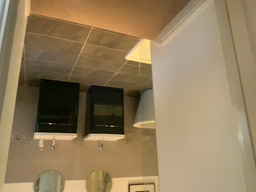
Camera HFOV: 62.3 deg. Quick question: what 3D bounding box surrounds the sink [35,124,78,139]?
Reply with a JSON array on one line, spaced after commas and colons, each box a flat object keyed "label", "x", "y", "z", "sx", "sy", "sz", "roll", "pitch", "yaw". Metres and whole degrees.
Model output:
[{"label": "sink", "x": -1.100, "y": 0.550, "z": 3.230, "sx": 0.570, "sy": 0.140, "sz": 0.440, "roll": 6, "pitch": 161, "yaw": -22}]

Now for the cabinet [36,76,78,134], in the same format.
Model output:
[{"label": "cabinet", "x": -1.120, "y": 0.170, "z": 3.360, "sx": 0.550, "sy": 0.800, "sz": 0.420, "roll": 6, "pitch": 161, "yaw": -22}]

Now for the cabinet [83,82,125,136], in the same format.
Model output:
[{"label": "cabinet", "x": -0.410, "y": 0.240, "z": 3.630, "sx": 0.590, "sy": 0.800, "sz": 0.450, "roll": 6, "pitch": 161, "yaw": -22}]
